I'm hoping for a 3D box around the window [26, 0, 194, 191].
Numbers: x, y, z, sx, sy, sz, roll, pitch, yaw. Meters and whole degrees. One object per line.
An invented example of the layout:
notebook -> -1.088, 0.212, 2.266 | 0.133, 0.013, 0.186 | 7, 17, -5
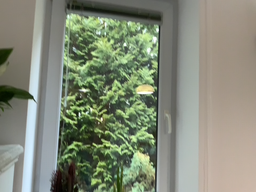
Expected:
window -> -0.070, 0.030, 1.310 | 0.920, 1.510, 0.210 | 3, -5, -14
